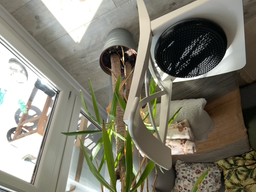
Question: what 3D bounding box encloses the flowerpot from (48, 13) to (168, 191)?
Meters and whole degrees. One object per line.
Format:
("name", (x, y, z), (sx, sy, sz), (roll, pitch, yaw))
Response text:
("flowerpot", (-0.080, 0.030, 1.150), (0.400, 1.130, 0.260), (-20, 135, 20))
